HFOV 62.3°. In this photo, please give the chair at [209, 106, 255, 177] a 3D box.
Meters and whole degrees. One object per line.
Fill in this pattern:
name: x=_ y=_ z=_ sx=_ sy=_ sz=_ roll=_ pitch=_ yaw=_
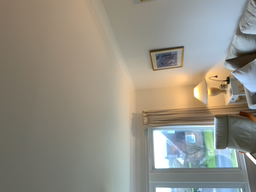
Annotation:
chair: x=1.810 y=0.620 z=3.120 sx=0.830 sy=1.000 sz=0.720 roll=-54 pitch=-41 yaw=-75
